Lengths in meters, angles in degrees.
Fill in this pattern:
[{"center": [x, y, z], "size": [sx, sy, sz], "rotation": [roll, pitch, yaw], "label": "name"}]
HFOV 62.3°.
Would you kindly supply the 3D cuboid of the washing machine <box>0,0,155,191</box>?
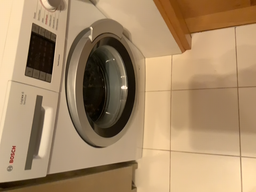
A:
[{"center": [-0.260, -0.020, 0.930], "size": [0.510, 0.840, 0.590], "rotation": [-3, 78, 25], "label": "washing machine"}]
